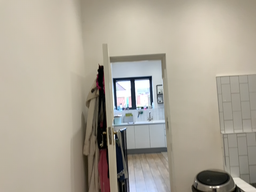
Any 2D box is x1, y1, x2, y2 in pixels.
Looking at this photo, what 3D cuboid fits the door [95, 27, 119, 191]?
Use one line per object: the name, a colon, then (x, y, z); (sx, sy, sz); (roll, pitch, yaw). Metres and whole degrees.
door: (-0.160, 0.520, 1.960); (0.060, 2.030, 0.860); (-3, -3, 0)
